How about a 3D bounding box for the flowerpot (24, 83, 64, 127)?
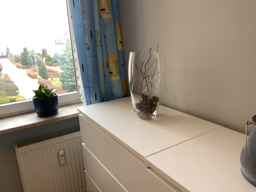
[{"bbox_3d":[-0.700,0.060,1.760,0.230,0.270,0.270,-12,18,-30],"label":"flowerpot"}]
